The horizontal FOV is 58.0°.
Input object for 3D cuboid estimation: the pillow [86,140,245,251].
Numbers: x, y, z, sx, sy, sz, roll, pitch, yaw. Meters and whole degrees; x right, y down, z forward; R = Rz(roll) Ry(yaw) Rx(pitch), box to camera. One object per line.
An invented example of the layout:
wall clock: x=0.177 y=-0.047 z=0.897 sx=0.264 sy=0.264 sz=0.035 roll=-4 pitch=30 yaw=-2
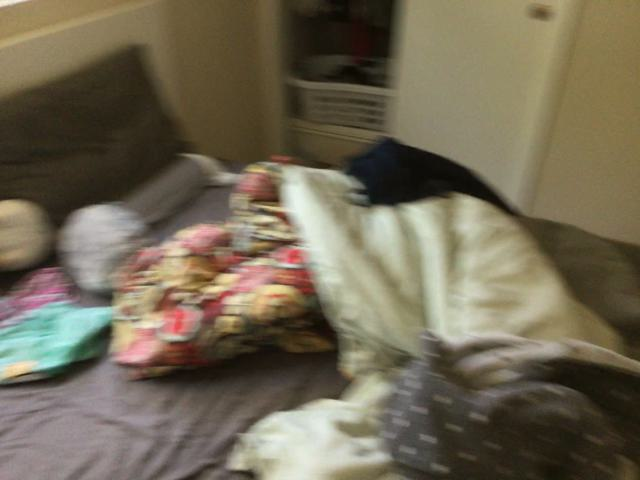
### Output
pillow: x=-0.470 y=-0.160 z=1.840 sx=0.200 sy=0.100 sz=0.500 roll=14 pitch=38 yaw=25

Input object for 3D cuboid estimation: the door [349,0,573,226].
door: x=0.500 y=-0.890 z=2.150 sx=0.810 sy=1.790 sz=0.130 roll=14 pitch=42 yaw=25

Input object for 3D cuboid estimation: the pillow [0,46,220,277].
pillow: x=-0.660 y=-0.280 z=1.760 sx=0.270 sy=0.400 sz=0.720 roll=14 pitch=38 yaw=25
